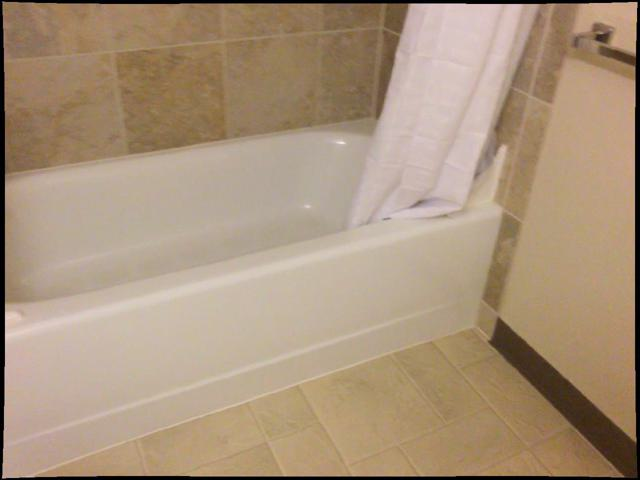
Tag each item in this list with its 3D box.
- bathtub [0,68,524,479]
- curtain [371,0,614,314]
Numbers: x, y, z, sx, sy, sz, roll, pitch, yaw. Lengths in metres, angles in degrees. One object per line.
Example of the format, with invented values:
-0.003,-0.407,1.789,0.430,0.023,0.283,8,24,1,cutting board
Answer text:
-0.309,0.010,1.730,1.507,0.631,0.780,-15,39,-22,bathtub
0.359,-0.712,1.110,0.429,1.813,0.260,-16,33,-21,curtain
